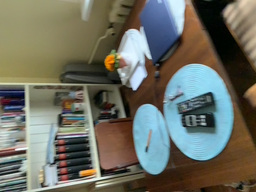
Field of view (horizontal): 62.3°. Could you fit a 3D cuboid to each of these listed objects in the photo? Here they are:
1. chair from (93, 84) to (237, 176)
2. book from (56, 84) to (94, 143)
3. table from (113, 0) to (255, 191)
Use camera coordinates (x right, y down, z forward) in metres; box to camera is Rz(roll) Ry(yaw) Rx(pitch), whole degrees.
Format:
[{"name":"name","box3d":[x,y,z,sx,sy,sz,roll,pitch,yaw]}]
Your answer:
[{"name":"chair","box3d":[0.240,0.260,1.640,0.560,0.840,0.450,126,137,-51]},{"name":"book","box3d":[-0.530,0.170,2.050,0.320,0.260,0.460,125,138,-50]},{"name":"table","box3d":[0.460,-0.090,1.300,0.780,0.730,1.100,131,133,-54]}]
